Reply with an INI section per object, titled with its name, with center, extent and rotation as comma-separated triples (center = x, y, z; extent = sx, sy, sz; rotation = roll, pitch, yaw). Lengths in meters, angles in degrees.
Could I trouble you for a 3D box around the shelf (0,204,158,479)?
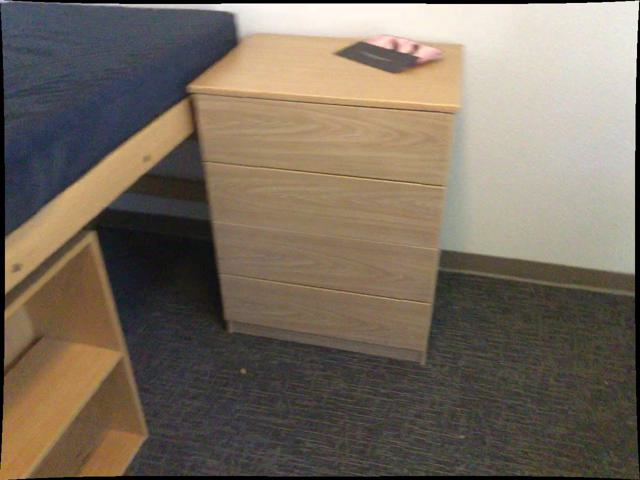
[shelf]
center = -0.799, 0.521, 1.250
extent = 0.330, 0.791, 0.980
rotation = 8, 34, 13
